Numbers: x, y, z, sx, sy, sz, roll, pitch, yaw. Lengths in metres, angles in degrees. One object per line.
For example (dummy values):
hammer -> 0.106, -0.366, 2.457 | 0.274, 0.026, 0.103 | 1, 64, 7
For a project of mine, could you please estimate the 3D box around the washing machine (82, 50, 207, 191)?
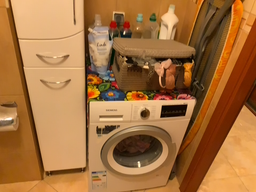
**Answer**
washing machine -> 0.000, 0.200, 1.600 | 0.640, 0.850, 0.680 | -2, 37, -14
